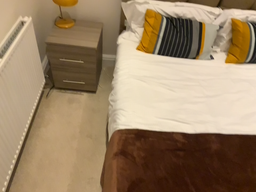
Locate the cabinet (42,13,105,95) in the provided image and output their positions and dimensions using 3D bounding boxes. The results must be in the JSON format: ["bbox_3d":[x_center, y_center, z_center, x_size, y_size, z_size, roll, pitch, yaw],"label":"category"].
[{"bbox_3d":[-0.450,-0.380,1.930,0.400,0.500,0.480,7,46,-2],"label":"cabinet"}]
